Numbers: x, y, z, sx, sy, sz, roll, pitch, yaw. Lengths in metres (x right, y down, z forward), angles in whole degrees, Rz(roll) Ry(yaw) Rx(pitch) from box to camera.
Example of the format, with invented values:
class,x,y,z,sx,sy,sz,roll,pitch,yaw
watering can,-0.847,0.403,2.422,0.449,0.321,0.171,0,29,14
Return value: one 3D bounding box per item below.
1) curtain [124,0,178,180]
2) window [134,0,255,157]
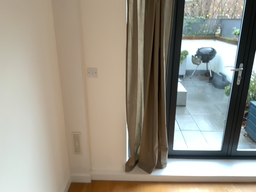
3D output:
class,x,y,z,sx,sy,sz,roll,pitch,yaw
curtain,0.180,-0.130,1.960,0.430,2.130,0.100,-1,20,-3
window,1.190,-0.200,2.140,2.230,1.870,0.050,1,20,1
